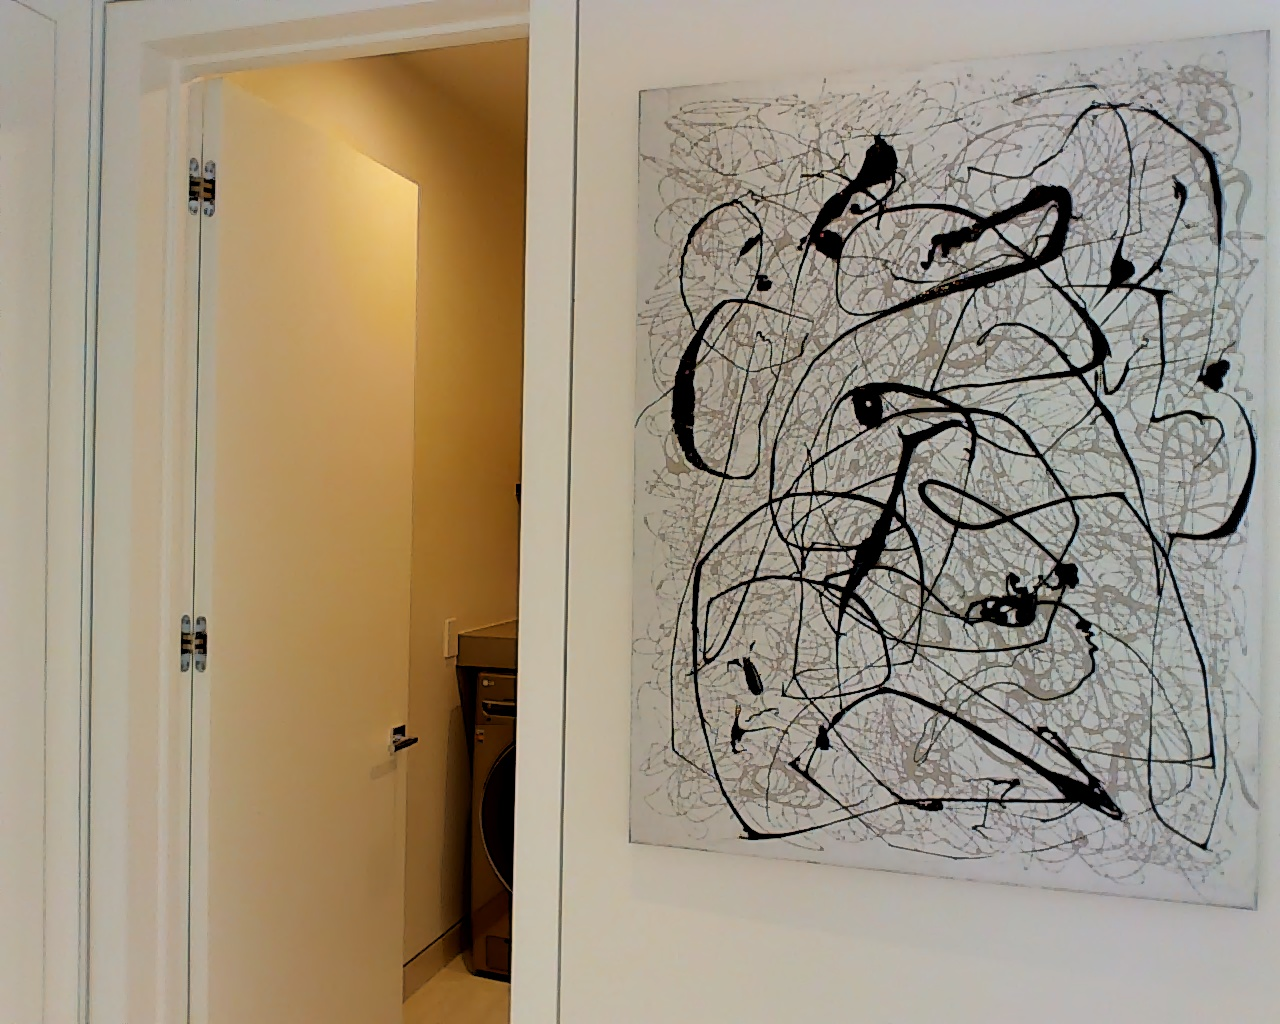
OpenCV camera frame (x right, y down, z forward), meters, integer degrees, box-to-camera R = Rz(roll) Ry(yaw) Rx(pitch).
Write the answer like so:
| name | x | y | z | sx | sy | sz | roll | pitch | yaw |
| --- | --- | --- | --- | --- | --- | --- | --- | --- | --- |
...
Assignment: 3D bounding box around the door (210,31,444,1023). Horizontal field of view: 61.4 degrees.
| name | x | y | z | sx | sy | sz | roll | pitch | yaw |
| --- | --- | --- | --- | --- | --- | --- | --- | --- | --- |
| door | -0.730 | 0.260 | 2.650 | 0.040 | 2.510 | 0.860 | 1 | 1 | 19 |
